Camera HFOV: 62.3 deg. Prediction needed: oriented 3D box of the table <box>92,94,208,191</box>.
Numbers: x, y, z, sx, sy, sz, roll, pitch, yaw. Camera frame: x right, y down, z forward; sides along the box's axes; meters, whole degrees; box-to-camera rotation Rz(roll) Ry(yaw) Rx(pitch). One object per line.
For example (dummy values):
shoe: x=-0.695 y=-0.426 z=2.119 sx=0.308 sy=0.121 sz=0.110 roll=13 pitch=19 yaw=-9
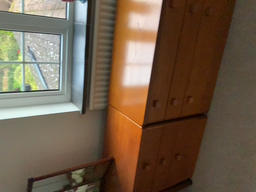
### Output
table: x=0.090 y=0.860 z=1.840 sx=0.520 sy=0.630 sz=1.640 roll=29 pitch=118 yaw=50
